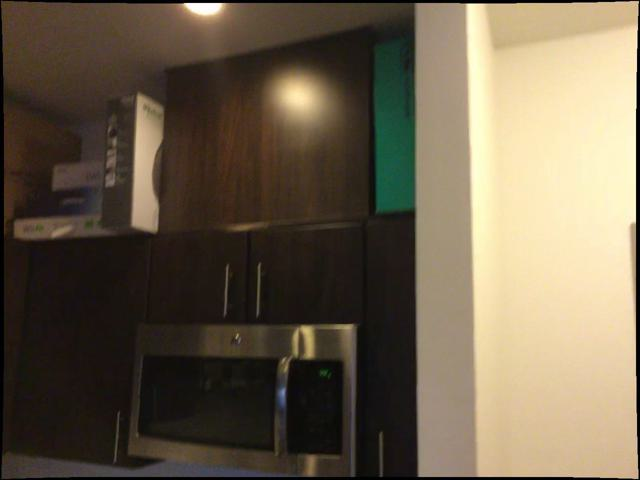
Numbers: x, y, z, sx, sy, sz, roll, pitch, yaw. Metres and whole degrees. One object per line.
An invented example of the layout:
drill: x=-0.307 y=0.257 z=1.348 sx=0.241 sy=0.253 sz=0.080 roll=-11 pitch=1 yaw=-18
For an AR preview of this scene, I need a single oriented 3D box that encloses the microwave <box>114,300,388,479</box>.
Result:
microwave: x=-0.200 y=0.431 z=1.740 sx=0.709 sy=0.401 sz=0.370 roll=4 pitch=1 yaw=22
